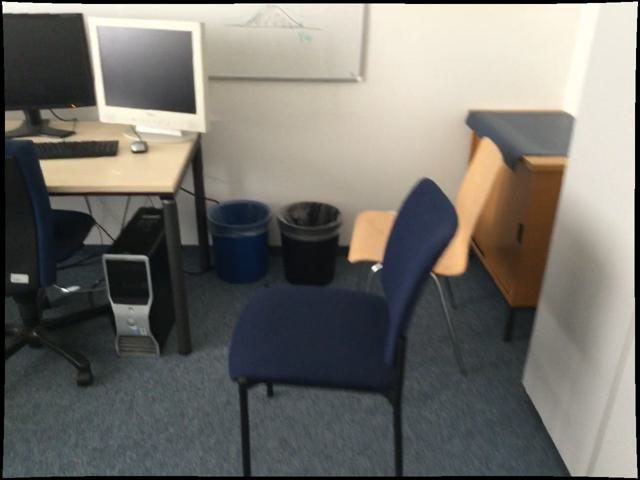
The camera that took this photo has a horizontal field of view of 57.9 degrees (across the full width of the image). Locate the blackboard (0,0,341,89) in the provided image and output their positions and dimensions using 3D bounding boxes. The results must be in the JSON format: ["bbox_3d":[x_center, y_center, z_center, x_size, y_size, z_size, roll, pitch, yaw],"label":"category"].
[{"bbox_3d":[-0.839,-1.101,2.380,1.858,0.921,0.080,0,28,-2],"label":"blackboard"}]

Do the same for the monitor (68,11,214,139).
[{"bbox_3d":[-0.689,-0.651,2.270,0.490,0.430,0.150,8,28,13],"label":"monitor"}]

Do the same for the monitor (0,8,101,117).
[{"bbox_3d":[-1.189,-0.691,2.240,0.579,0.360,0.240,-6,28,-14],"label":"monitor"}]
